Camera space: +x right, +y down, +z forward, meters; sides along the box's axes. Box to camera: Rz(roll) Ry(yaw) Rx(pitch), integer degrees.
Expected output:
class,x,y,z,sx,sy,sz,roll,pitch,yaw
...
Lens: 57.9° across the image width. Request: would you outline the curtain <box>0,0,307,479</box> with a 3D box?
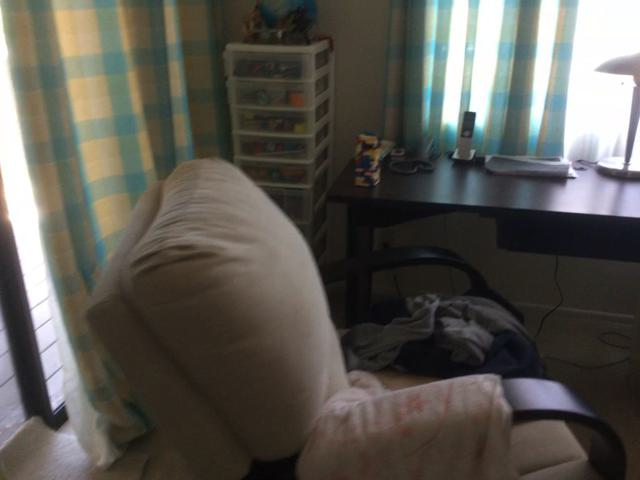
class,x,y,z,sx,sy,sz,roll,pitch,yaw
curtain,-0.640,-0.110,1.370,0.510,1.750,2.480,4,23,14
